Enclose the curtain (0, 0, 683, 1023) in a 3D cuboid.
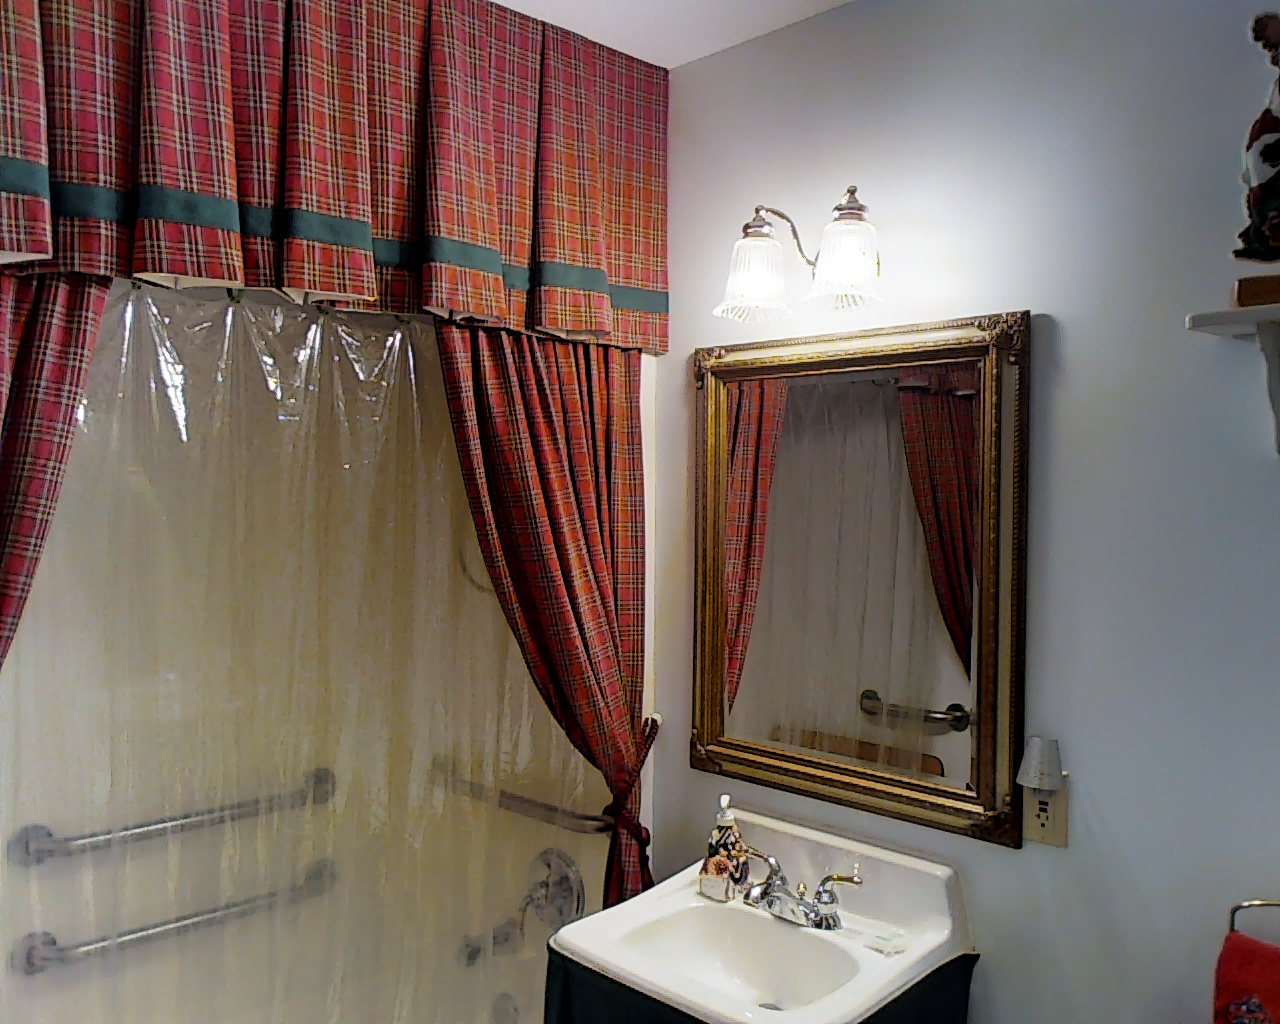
[{"bbox_3d":[-0.490,0.100,1.710,1.450,2.020,0.170,0,0,-45],"label":"curtain"}]
